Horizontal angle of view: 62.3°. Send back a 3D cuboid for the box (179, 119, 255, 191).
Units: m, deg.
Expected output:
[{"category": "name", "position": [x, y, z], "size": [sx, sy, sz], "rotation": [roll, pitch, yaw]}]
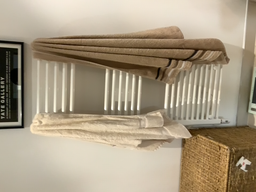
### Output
[{"category": "box", "position": [0.710, 0.500, 1.390], "size": [0.410, 0.570, 0.610], "rotation": [-161, 73, -68]}]
